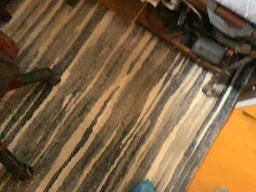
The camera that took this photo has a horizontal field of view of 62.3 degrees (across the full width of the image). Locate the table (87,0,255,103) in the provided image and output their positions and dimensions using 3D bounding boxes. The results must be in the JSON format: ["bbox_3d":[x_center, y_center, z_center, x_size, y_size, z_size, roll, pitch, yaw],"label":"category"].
[{"bbox_3d":[0.200,-0.400,0.800,1.030,0.420,0.280,33,80,2],"label":"table"}]
